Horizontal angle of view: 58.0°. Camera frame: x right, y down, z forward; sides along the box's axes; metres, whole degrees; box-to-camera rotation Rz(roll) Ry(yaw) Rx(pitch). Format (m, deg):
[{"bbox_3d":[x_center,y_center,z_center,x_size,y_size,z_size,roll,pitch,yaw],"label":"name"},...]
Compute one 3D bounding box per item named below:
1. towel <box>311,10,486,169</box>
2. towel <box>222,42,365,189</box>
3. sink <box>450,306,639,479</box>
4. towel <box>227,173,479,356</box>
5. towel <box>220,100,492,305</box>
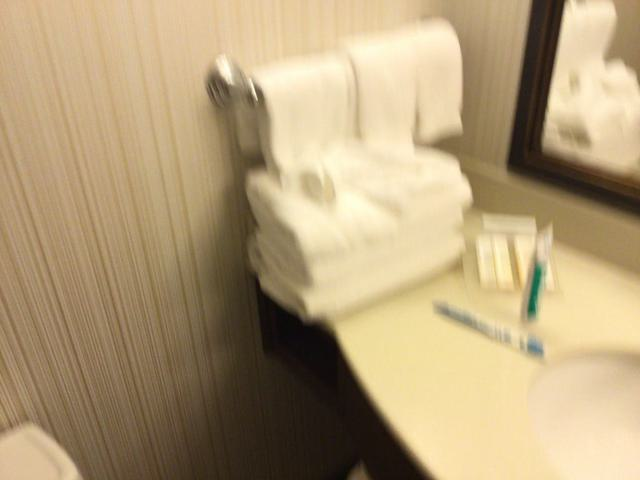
[{"bbox_3d":[0.140,-0.280,1.040,0.290,0.210,0.130,-21,36,-32],"label":"towel"},{"bbox_3d":[-0.040,-0.210,0.950,0.190,0.180,0.120,-21,36,-32],"label":"towel"},{"bbox_3d":[0.450,0.320,0.720,0.350,0.180,0.430,-21,36,-33],"label":"sink"},{"bbox_3d":[0.060,0.020,1.060,0.360,0.120,0.270,-21,36,-32],"label":"towel"},{"bbox_3d":[0.060,-0.090,1.000,0.360,0.180,0.270,-21,36,-32],"label":"towel"}]
